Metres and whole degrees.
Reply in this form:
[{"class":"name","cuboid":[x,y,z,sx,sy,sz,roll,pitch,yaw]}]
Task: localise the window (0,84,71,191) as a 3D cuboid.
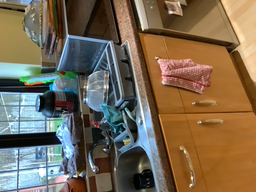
[{"class":"window","cuboid":[-0.840,0.520,1.320,0.070,0.920,1.300,-44,51,55]}]
